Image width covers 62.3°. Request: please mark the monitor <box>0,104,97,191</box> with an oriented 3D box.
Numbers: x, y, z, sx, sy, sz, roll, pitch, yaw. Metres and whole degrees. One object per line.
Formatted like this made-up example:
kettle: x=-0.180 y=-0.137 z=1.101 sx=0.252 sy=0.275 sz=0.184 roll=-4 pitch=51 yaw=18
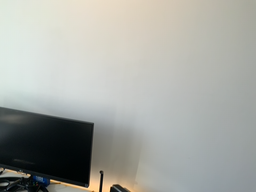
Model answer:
monitor: x=-0.510 y=0.260 z=1.030 sx=0.680 sy=0.390 sz=0.040 roll=12 pitch=12 yaw=7
